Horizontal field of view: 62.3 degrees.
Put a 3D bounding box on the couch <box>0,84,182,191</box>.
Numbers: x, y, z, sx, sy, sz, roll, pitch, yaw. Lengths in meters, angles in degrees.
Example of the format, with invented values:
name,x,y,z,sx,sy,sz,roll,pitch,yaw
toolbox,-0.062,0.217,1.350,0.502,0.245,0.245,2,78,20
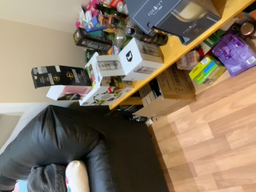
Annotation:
name,x,y,z,sx,sy,sz,roll,pitch,yaw
couch,-0.490,0.670,1.820,1.440,0.900,0.940,-36,65,42
